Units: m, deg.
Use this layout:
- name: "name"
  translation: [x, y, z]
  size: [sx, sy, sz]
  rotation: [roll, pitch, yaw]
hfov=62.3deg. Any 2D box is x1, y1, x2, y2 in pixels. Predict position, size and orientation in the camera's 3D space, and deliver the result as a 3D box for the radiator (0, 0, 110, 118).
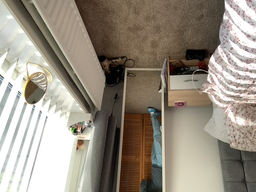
- name: "radiator"
  translation: [-0.390, -0.370, 1.580]
  size: [0.160, 0.580, 1.300]
  rotation: [-3, 149, 10]
